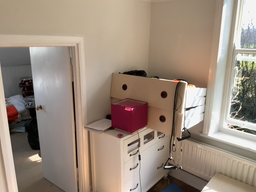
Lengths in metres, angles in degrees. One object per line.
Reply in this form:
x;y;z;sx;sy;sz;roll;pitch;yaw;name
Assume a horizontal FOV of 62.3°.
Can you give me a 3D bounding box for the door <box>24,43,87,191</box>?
-0.810;0.290;2.390;0.850;1.710;0.130;13;19;38;door
